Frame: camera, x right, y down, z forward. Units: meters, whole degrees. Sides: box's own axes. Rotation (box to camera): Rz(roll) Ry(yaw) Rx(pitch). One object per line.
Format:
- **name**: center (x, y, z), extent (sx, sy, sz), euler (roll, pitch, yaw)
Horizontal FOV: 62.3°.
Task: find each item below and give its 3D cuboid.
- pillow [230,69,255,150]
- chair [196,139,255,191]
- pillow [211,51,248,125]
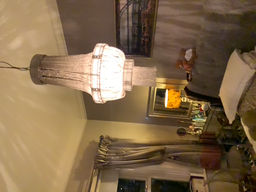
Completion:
- **pillow**: center (1.200, 0.140, 2.050), extent (0.150, 0.460, 0.640), euler (5, 133, 9)
- **chair**: center (1.370, 0.940, 2.800), extent (0.770, 0.510, 0.460), euler (5, 142, 3)
- **pillow**: center (1.120, -0.080, 2.360), extent (0.170, 0.440, 0.670), euler (14, 135, 16)
